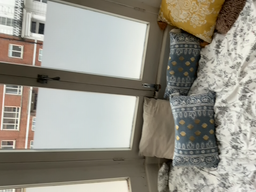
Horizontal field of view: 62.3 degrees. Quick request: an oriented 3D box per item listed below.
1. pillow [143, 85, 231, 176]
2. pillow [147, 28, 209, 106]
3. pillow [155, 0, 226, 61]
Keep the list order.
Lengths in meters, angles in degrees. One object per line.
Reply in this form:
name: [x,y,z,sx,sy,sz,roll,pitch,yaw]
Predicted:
pillow: [0.370,0.210,1.280,0.470,0.310,0.130,39,161,-17]
pillow: [0.350,-0.190,1.440,0.130,0.260,0.440,7,128,60]
pillow: [0.410,-0.540,1.290,0.160,0.490,0.460,37,147,26]
